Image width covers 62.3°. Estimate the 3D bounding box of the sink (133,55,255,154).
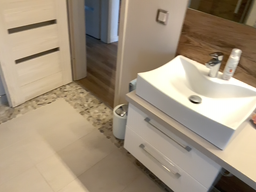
[{"bbox_3d":[0.380,-0.010,1.160,0.400,0.130,0.580,-26,48,-39],"label":"sink"}]
